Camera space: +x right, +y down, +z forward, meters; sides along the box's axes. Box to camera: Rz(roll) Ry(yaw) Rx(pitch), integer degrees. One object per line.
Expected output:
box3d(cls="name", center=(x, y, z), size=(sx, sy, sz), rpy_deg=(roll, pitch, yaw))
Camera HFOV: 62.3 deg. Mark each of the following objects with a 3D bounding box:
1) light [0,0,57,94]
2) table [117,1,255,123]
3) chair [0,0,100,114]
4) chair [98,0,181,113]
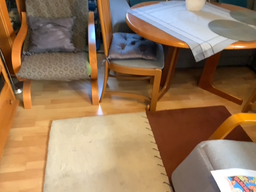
box3d(cls="light", center=(-0.880, -0.810, 1.730), size=(0.350, 1.580, 0.540), rpy_deg=(-5, 41, -12))
box3d(cls="table", center=(0.600, -0.360, 1.970), size=(1.270, 0.720, 0.860), rpy_deg=(-3, 41, -10))
box3d(cls="chair", center=(-0.630, -0.500, 1.850), size=(0.670, 0.980, 0.780), rpy_deg=(-4, 41, -12))
box3d(cls="chair", center=(0.060, -0.460, 1.760), size=(0.510, 1.080, 0.540), rpy_deg=(6, 40, 1))
